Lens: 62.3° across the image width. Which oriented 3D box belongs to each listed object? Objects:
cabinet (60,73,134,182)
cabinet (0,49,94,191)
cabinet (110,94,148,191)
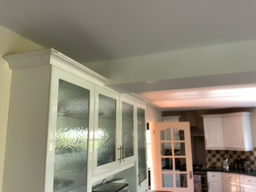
[{"bbox_3d":[-0.240,0.320,2.190,0.310,0.860,0.980,-4,-10,19],"label":"cabinet"},{"bbox_3d":[-0.510,0.400,1.430,0.280,1.250,0.590,-4,-10,19],"label":"cabinet"},{"bbox_3d":[0.030,0.640,2.860,0.330,1.250,0.550,-4,-10,19],"label":"cabinet"}]
